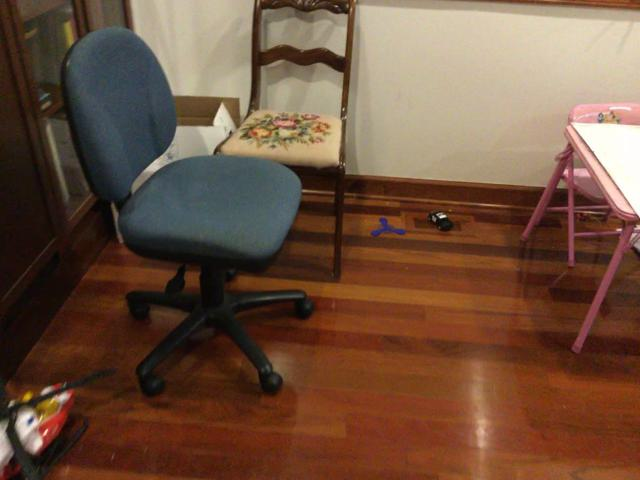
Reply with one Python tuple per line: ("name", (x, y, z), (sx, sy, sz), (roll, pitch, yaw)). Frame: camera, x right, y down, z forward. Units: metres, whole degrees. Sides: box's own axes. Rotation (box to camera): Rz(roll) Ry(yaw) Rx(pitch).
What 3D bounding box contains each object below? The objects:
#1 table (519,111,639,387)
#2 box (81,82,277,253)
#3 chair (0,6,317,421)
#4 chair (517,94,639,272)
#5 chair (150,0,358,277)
("table", (1.110, -0.010, 1.870), (0.670, 0.560, 0.800), (3, 31, 6))
("box", (-0.500, -0.300, 2.260), (0.570, 0.500, 0.470), (3, 31, 6))
("chair", (-0.350, -0.090, 1.600), (0.560, 0.950, 0.550), (6, 31, 12))
("chair", (1.040, -0.220, 2.160), (0.440, 0.540, 0.380), (3, 31, 6))
("chair", (-0.170, -0.420, 2.100), (0.570, 0.930, 0.550), (3, 31, 6))
